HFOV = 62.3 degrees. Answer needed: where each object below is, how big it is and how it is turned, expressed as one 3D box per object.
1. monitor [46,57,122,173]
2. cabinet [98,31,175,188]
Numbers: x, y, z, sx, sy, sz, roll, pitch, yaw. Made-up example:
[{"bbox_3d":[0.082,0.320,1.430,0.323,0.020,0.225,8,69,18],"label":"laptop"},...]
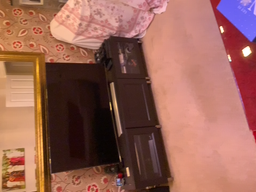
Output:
[{"bbox_3d":[-0.530,0.140,2.440,0.070,0.730,1.310,131,133,-58],"label":"monitor"},{"bbox_3d":[0.030,0.130,2.690,0.520,0.510,1.830,135,129,-59],"label":"cabinet"}]
